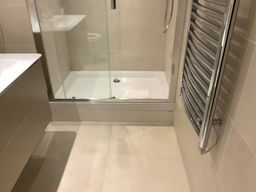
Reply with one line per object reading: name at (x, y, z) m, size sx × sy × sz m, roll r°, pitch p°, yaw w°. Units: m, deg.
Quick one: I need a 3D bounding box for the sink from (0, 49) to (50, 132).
sink at (-0.760, -0.040, 1.070) m, size 0.450 × 0.140 × 0.840 m, roll -1°, pitch 30°, yaw 0°
